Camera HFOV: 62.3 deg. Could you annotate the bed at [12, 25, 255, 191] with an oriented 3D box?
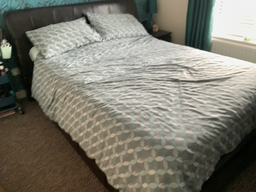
[{"bbox_3d":[0.090,-0.140,2.270,1.750,0.630,2.330,-23,36,-33],"label":"bed"}]
